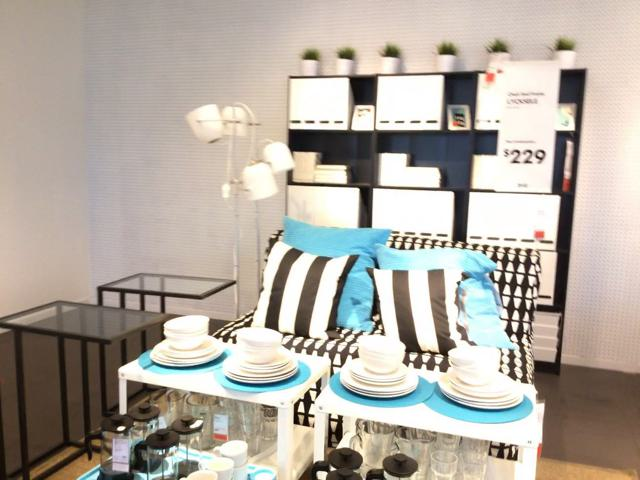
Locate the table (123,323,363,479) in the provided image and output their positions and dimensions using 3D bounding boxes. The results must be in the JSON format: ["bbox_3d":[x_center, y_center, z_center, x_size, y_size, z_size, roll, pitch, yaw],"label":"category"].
[{"bbox_3d":[-0.280,0.680,2.230,0.760,0.560,0.490,4,3,19],"label":"table"}]

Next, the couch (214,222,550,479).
[{"bbox_3d":[0.280,0.430,2.730,1.420,0.950,0.550,4,3,19],"label":"couch"}]

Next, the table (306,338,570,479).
[{"bbox_3d":[0.420,0.720,2.040,0.780,0.550,0.570,4,3,19],"label":"table"}]
